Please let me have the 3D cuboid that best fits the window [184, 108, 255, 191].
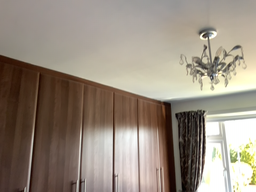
[{"bbox_3d":[2.080,0.850,3.000,2.500,1.370,0.290,-11,-17,38],"label":"window"}]
